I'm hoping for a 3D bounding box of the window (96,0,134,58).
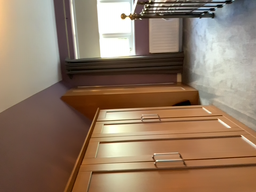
[{"bbox_3d":[-0.250,-1.520,4.100,0.070,0.690,1.540,-102,10,-80],"label":"window"}]

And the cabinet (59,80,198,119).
[{"bbox_3d":[0.010,0.020,3.700,0.960,2.090,0.370,-100,8,-77],"label":"cabinet"}]
